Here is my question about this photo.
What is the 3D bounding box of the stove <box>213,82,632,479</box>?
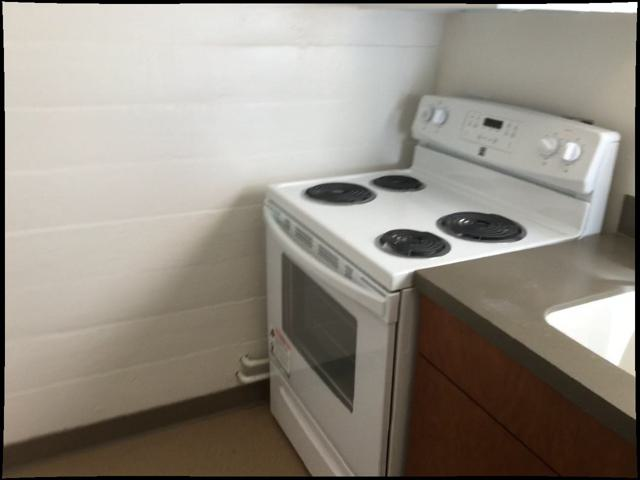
[{"bbox_3d":[0.219,0.160,1.910,0.778,1.183,0.990,-11,24,-25],"label":"stove"}]
